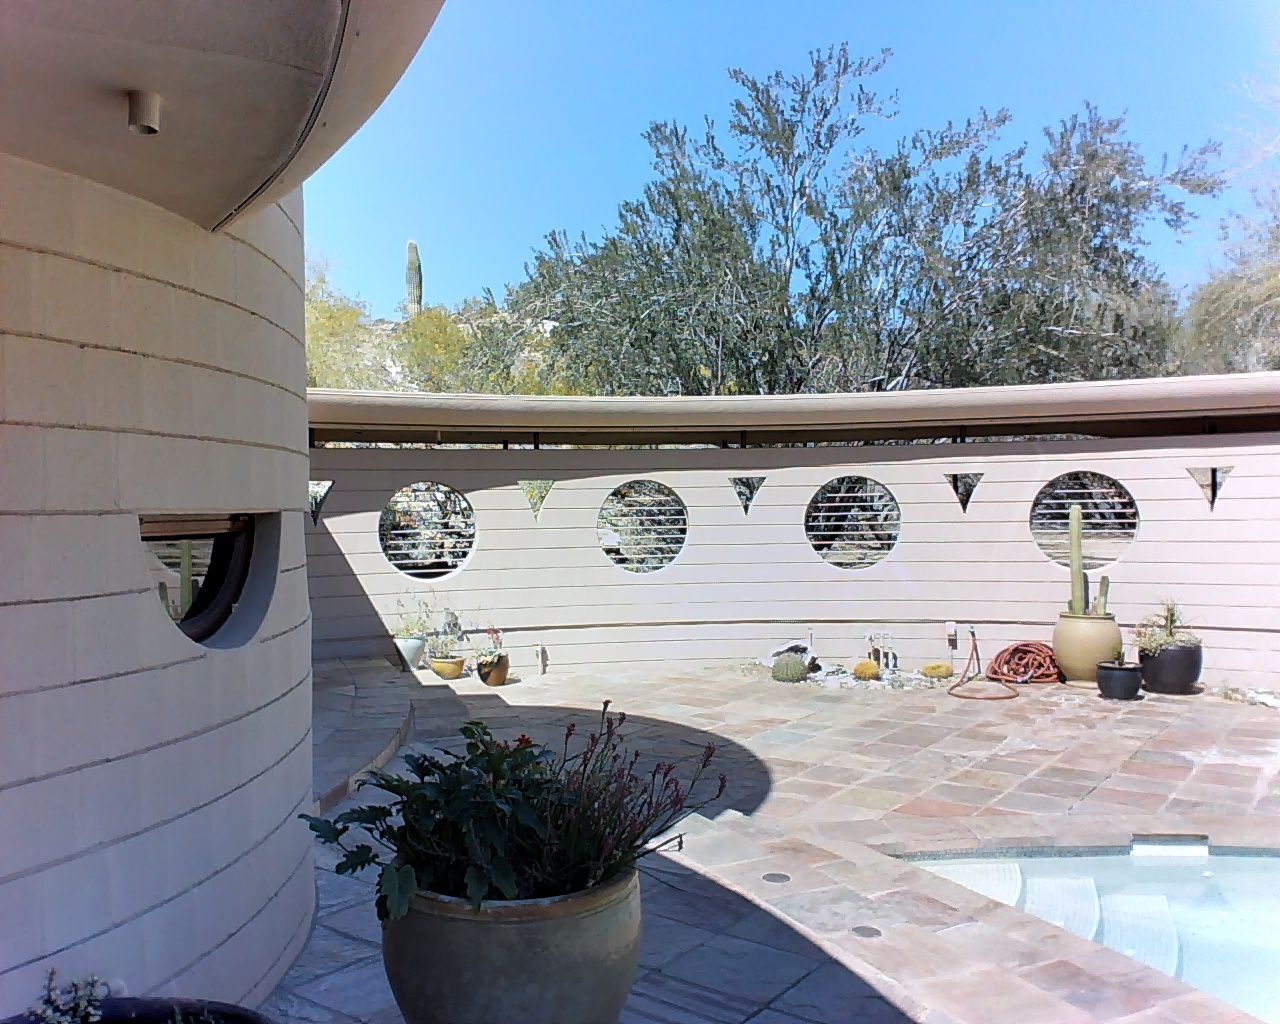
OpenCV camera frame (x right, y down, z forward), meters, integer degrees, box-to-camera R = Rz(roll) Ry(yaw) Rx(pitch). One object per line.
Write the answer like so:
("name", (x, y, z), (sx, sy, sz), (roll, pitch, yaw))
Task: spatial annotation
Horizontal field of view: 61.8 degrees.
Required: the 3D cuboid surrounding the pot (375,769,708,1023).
("pot", (-0.290, 1.130, 2.830), (0.680, 0.670, 0.720), (-1, 0, -23))
